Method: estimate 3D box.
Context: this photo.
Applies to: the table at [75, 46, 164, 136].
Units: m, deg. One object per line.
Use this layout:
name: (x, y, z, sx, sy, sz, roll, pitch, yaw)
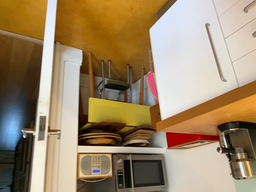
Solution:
table: (-0.110, 0.000, 2.200, 0.720, 0.710, 0.490, 9, 154, -31)
